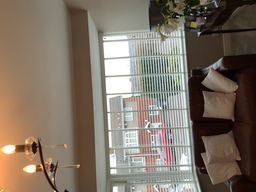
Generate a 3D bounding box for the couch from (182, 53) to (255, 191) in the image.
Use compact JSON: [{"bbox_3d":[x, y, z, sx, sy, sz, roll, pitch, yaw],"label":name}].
[{"bbox_3d":[1.290,0.330,2.810,1.050,0.790,1.580,-4,-89,-89],"label":"couch"}]
